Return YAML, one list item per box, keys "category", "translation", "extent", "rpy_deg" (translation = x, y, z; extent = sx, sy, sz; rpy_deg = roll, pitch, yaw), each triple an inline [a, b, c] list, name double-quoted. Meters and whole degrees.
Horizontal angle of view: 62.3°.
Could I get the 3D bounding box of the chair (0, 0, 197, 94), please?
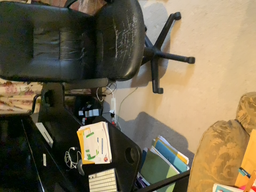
- category: "chair"
  translation: [-0.200, -0.360, 1.430]
  extent: [0.770, 1.150, 0.670]
  rpy_deg: [-1, 90, 49]
